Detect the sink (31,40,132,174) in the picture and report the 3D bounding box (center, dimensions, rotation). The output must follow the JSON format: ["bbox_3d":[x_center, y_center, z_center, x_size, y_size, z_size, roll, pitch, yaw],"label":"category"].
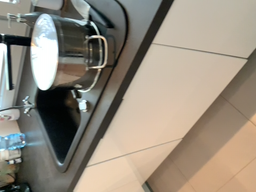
[{"bbox_3d":[-0.270,0.040,1.050,0.480,0.210,0.400,53,128,33],"label":"sink"}]

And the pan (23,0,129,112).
[{"bbox_3d":[-0.200,-0.180,0.690,0.290,0.140,0.360,57,131,30],"label":"pan"}]
